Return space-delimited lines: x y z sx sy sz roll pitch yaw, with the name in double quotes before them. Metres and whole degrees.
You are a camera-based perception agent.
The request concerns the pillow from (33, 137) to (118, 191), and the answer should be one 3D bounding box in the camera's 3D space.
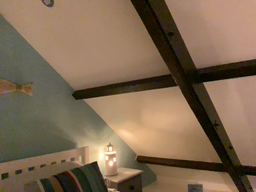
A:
"pillow" -0.370 0.640 1.430 0.180 0.390 0.600 -8 37 39
